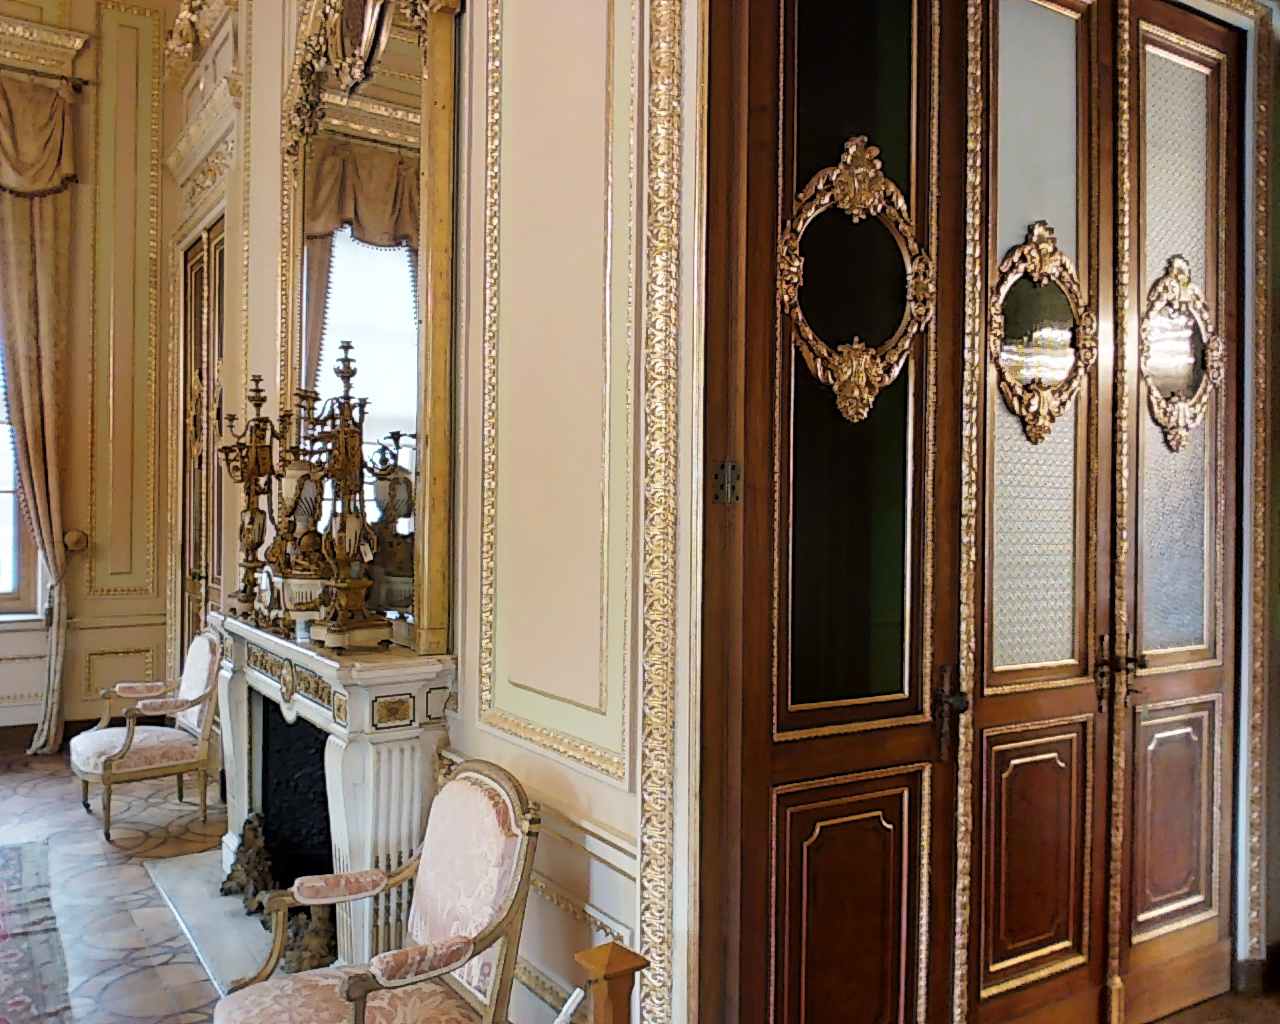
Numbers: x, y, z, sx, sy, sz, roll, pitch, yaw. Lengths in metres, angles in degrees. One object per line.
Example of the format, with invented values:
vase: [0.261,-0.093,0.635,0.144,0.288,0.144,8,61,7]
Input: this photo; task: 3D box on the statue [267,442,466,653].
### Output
statue: [-1.100,0.120,4.230,0.510,0.730,0.880,0,1,-32]

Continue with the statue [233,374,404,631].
statue: [-1.469,-0.040,4.890,0.610,1.070,0.580,0,1,-32]

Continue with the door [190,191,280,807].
door: [-2.609,-0.080,6.860,0.200,3.502,1.640,0,1,-32]

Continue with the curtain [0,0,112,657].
curtain: [-4.378,-1.191,6.770,1.869,4.232,0.220,0,1,-32]

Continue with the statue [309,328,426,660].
statue: [-0.950,-0.060,3.730,0.300,1.080,0.360,0,1,-30]
